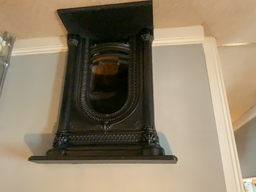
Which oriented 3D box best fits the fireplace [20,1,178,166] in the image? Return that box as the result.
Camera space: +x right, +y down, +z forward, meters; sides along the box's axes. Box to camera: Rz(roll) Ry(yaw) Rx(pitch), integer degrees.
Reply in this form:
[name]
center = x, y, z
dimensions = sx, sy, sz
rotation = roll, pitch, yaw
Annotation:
[fireplace]
center = -0.120, -0.050, 1.360
dimensions = 0.740, 0.910, 0.460
rotation = -3, 157, 7
